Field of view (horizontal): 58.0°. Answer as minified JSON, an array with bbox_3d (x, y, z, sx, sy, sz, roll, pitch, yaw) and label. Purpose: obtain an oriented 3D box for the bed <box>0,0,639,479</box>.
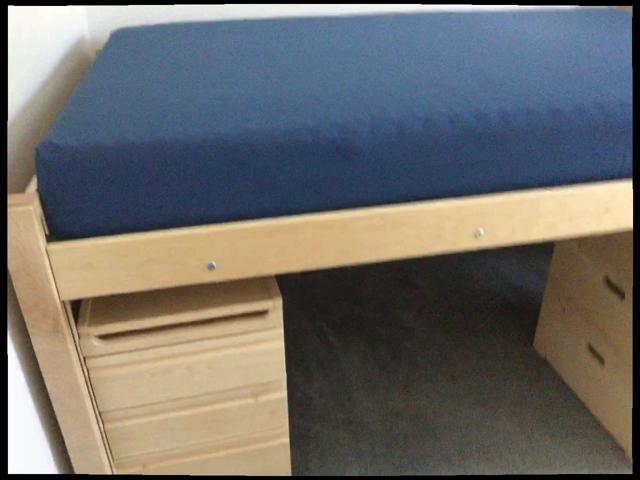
[{"bbox_3d":[0.379,-0.130,1.970,2.286,1.082,1.551,-7,31,-12],"label":"bed"}]
